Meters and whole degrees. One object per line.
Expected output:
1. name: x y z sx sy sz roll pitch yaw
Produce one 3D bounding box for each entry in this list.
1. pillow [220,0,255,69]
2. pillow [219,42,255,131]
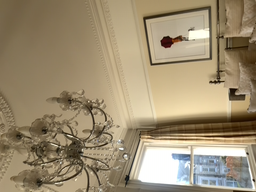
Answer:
1. pillow: 1.380 -0.870 2.400 1.090 0.520 0.670 -64 -34 -53
2. pillow: 1.530 -0.180 2.760 1.160 0.560 0.670 -62 -35 -54
